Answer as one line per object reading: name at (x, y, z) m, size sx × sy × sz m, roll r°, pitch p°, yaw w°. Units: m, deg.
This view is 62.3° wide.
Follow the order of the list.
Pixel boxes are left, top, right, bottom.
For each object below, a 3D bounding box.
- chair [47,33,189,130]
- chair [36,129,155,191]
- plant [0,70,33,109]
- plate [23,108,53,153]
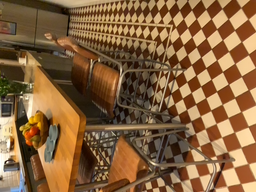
chair at (-0.080, -0.110, 1.710) m, size 0.480 × 0.950 × 0.550 m, roll 32°, pitch 115°, yaw 52°
chair at (-0.310, 0.690, 2.020) m, size 0.440 × 0.950 × 0.550 m, roll 33°, pitch 116°, yaw 53°
plant at (-1.520, -0.090, 2.760) m, size 0.380 × 0.440 × 0.410 m, roll 31°, pitch 114°, yaw 53°
plate at (-0.690, 0.250, 1.610) m, size 0.260 × 0.150 × 0.230 m, roll 32°, pitch 115°, yaw 53°
